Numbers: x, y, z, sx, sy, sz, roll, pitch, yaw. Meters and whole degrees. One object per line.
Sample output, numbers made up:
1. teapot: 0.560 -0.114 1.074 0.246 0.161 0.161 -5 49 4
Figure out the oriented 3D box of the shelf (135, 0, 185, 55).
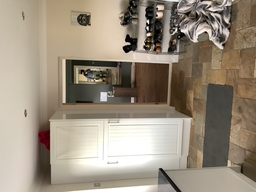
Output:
1. shelf: 0.520 -1.110 3.530 0.250 0.750 0.780 -153 64 -76
